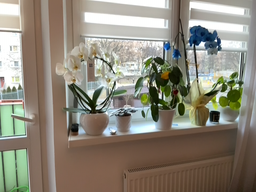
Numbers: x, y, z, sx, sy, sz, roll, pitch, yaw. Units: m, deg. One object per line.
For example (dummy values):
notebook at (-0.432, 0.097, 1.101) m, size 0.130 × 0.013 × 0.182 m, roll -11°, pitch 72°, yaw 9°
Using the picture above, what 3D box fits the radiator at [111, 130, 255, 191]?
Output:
radiator at (0.450, 0.720, 1.540) m, size 1.140 × 0.820 × 0.170 m, roll -2°, pitch 9°, yaw -21°

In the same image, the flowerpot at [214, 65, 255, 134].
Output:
flowerpot at (0.830, 0.010, 1.540) m, size 0.290 × 0.460 × 0.210 m, roll -2°, pitch 9°, yaw -21°

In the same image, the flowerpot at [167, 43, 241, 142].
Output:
flowerpot at (0.510, -0.040, 1.490) m, size 0.290 × 0.600 × 0.360 m, roll -3°, pitch 9°, yaw -23°

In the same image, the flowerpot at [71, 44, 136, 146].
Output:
flowerpot at (-0.150, -0.020, 1.230) m, size 0.300 × 0.510 × 0.250 m, roll -3°, pitch 9°, yaw -26°
